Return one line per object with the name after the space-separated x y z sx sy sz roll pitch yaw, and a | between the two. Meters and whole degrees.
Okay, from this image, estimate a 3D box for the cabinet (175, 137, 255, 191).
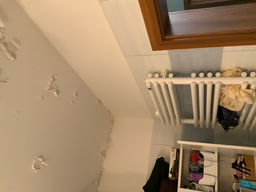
0.710 0.650 1.400 0.230 0.750 0.640 62 -145 -54 | cabinet
